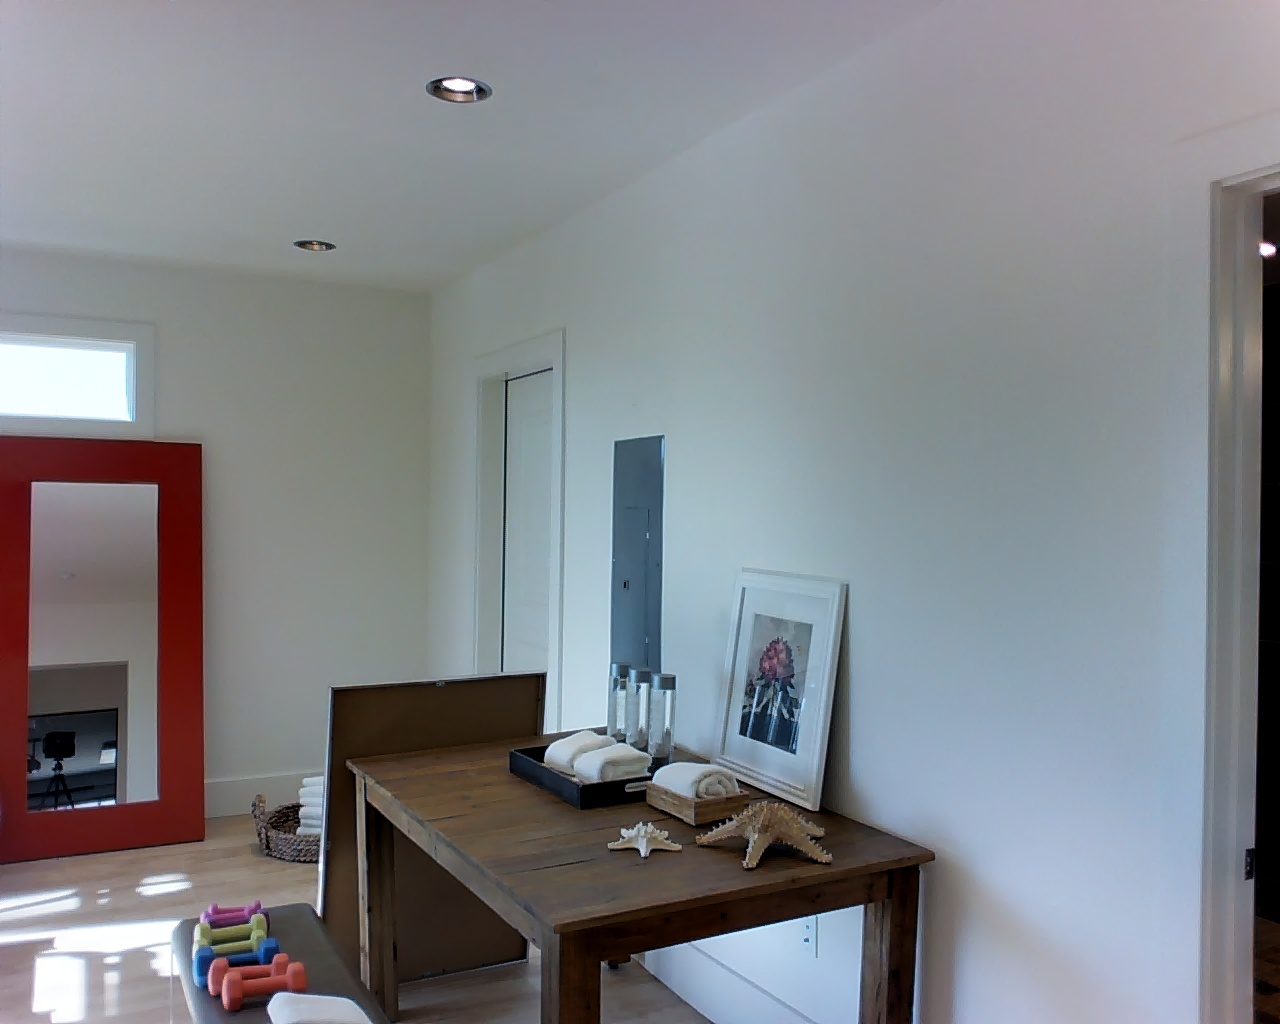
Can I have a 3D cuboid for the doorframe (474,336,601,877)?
[{"bbox_3d":[-0.490,0.390,4.910,0.210,2.240,0.950,1,0,-28],"label":"doorframe"}]
